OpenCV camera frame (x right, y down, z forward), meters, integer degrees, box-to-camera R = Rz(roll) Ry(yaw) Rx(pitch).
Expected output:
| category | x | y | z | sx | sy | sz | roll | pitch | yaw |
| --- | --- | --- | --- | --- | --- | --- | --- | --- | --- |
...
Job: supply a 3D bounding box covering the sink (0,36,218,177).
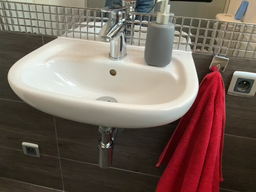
| category | x | y | z | sx | sy | sz | roll | pitch | yaw |
| --- | --- | --- | --- | --- | --- | --- | --- | --- | --- |
| sink | -0.050 | -0.020 | 0.590 | 0.480 | 0.150 | 0.360 | 9 | 31 | 7 |
